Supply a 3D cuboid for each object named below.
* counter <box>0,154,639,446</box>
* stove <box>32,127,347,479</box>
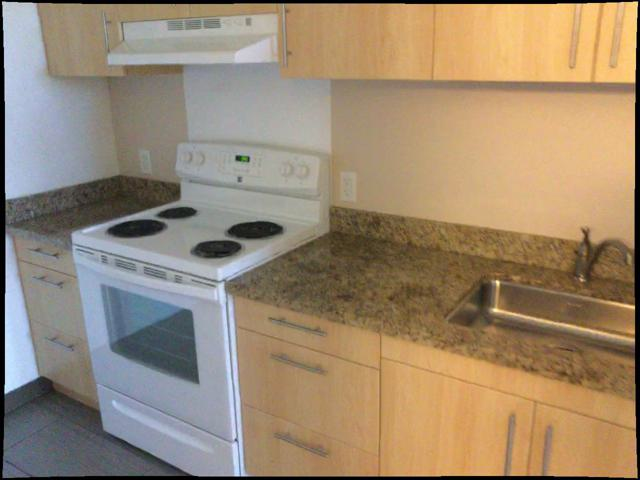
[{"bbox_3d":[0.100,0.070,1.920,2.918,0.290,0.640,12,21,28],"label":"counter"},{"bbox_3d":[-0.460,0.220,2.280,0.849,1.161,0.720,12,21,28],"label":"stove"}]
